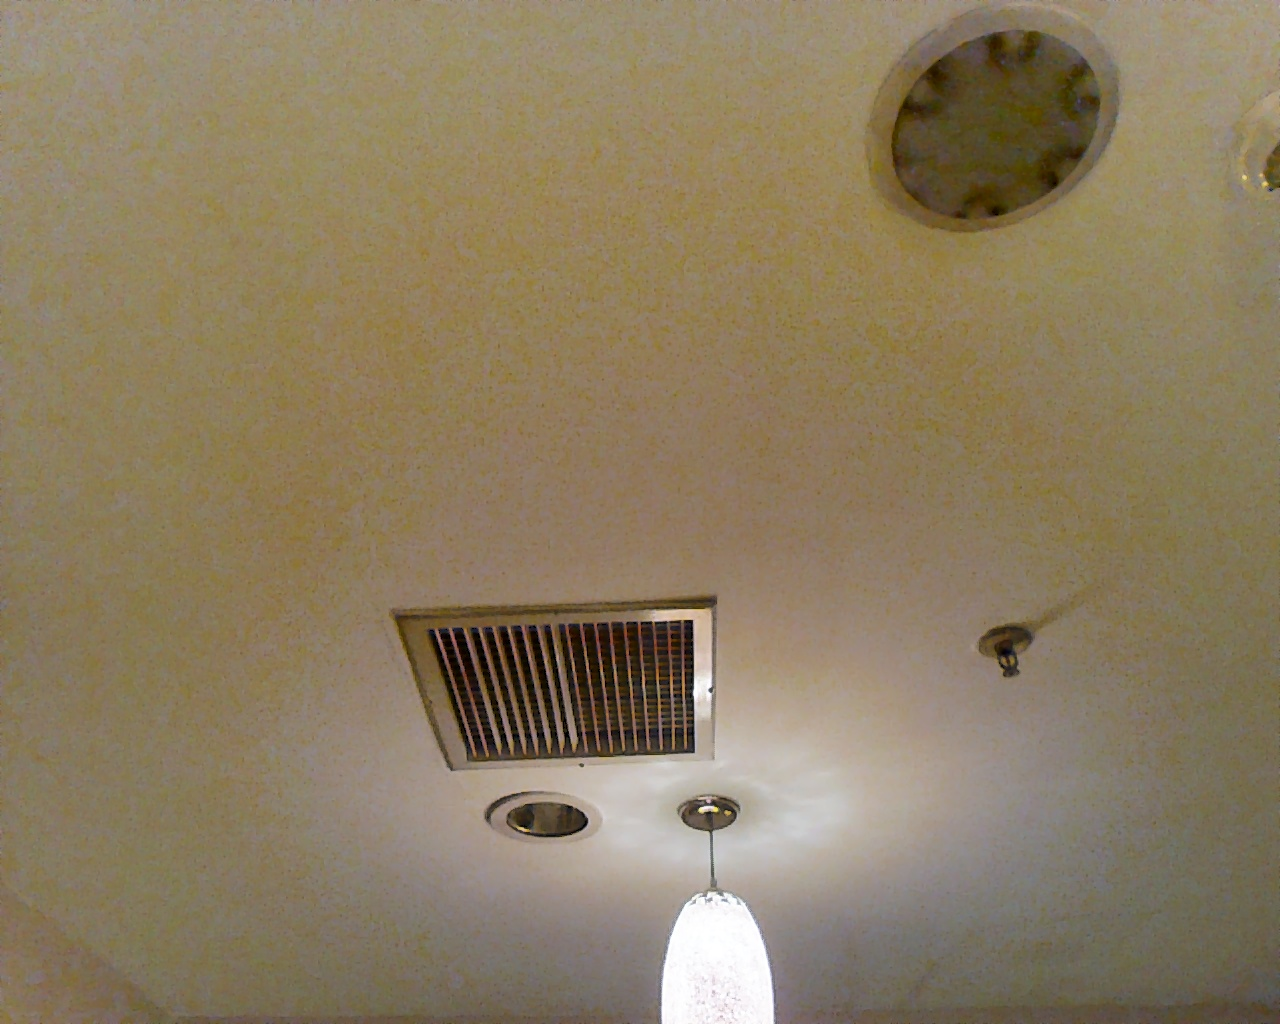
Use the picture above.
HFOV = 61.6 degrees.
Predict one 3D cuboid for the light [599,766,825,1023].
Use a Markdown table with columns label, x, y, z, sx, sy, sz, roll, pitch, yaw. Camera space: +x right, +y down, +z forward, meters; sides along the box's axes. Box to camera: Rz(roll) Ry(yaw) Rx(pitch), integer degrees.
| label | x | y | z | sx | sy | sz | roll | pitch | yaw |
| --- | --- | --- | --- | --- | --- | --- | --- | --- | --- |
| light | 0.110 | 0.700 | 1.720 | 0.230 | 0.250 | 0.470 | -13 | 49 | -8 |
